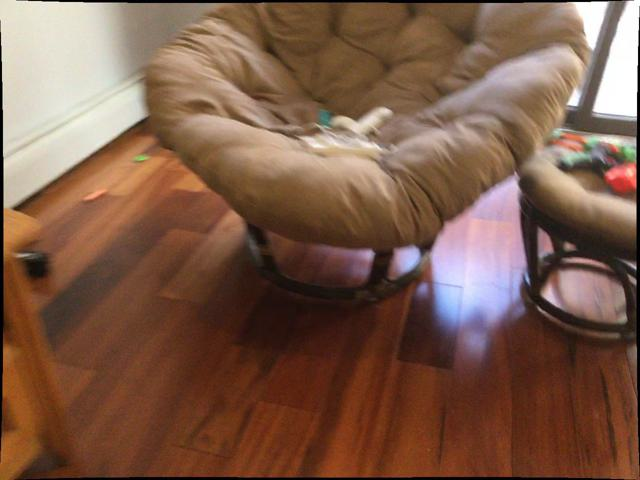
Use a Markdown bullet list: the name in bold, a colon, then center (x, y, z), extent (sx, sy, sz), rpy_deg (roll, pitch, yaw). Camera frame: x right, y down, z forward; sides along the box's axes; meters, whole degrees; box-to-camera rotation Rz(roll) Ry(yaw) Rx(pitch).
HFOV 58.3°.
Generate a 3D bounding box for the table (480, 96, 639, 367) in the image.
- **table**: center (0.719, -0.040, 1.420), extent (0.540, 0.410, 0.540), rpy_deg (10, 33, 12)

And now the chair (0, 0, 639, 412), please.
- **chair**: center (0.080, -0.340, 1.580), extent (1.119, 0.760, 1.120), rpy_deg (10, 33, 12)
